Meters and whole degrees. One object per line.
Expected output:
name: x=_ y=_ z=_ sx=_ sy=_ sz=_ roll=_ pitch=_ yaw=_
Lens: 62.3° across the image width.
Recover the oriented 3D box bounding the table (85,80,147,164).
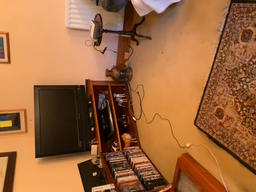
table: x=-0.200 y=0.270 z=2.670 sx=0.750 sy=0.490 sz=0.770 roll=-139 pitch=52 yaw=-60

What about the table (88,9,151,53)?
table: x=-0.110 y=-0.710 z=2.340 sx=0.390 sy=0.560 sz=0.380 roll=-140 pitch=52 yaw=-60

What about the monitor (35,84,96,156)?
monitor: x=-0.730 y=0.240 z=2.470 sx=0.040 sy=0.640 sz=0.800 roll=135 pitch=129 yaw=-59
